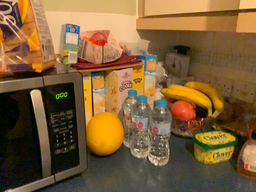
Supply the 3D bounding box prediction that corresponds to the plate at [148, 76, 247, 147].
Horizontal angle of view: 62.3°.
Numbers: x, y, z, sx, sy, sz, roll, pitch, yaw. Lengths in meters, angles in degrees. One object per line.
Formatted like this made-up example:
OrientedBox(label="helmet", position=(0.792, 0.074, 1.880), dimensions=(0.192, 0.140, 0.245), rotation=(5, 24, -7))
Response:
OrientedBox(label="plate", position=(0.270, 0.040, 0.860), dimensions=(0.280, 0.170, 0.240), rotation=(-10, 21, -30))
